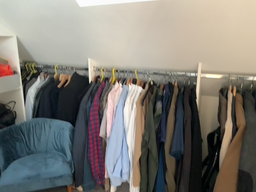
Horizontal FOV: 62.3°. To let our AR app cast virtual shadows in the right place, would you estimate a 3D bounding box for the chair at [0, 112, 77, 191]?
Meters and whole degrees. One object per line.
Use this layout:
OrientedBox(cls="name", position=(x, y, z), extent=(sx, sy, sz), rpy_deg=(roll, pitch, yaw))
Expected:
OrientedBox(cls="chair", position=(-0.710, 0.550, 1.640), extent=(0.550, 0.660, 0.530), rpy_deg=(-4, 16, -20))
